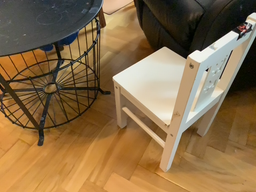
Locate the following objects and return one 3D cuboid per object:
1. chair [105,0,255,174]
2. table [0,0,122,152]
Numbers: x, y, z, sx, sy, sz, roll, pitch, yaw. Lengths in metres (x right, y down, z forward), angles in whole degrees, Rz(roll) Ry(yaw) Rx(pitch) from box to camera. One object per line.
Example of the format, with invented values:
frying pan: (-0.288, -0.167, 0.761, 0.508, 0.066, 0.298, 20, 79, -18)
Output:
chair: (0.150, -0.030, 0.750, 0.300, 0.500, 0.300, -33, 57, -26)
table: (-0.360, -0.180, 0.900, 0.530, 0.470, 0.550, -13, 50, -11)
